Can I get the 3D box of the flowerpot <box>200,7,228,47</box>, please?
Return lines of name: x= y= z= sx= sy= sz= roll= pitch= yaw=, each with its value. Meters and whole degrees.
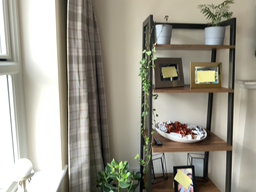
flowerpot: x=0.580 y=-0.460 z=1.440 sx=0.120 sy=0.240 sz=0.100 roll=-1 pitch=11 yaw=-10

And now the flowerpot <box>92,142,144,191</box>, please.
flowerpot: x=-0.080 y=0.850 z=1.550 sx=0.300 sy=0.880 sz=0.500 roll=0 pitch=10 yaw=-4
